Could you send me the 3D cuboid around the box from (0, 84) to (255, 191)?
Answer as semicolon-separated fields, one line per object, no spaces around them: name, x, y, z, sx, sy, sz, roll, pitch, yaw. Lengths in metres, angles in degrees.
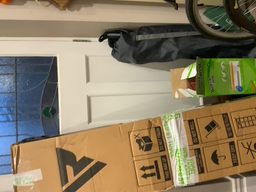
box;0.180;0.260;1.020;0.530;1.430;0.460;122;144;-68
